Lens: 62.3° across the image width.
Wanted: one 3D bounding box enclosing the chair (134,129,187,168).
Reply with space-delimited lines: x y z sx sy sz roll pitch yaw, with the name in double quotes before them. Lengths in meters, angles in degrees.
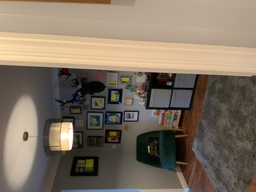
"chair" 0.560 0.940 3.930 0.770 0.780 0.620 129 142 -78
